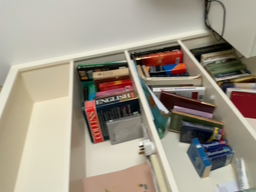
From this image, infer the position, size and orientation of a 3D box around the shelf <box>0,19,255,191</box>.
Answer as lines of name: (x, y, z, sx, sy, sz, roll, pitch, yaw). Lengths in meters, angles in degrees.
shelf: (0.470, 0.070, 0.960, 1.150, 2.100, 0.270, -106, 6, -49)
